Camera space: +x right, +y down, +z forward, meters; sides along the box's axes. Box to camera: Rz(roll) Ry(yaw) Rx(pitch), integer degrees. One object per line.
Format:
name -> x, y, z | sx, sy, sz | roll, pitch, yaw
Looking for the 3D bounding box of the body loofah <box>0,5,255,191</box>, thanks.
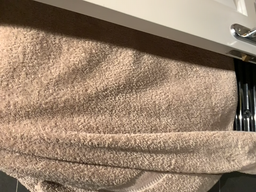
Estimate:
body loofah -> 0.070, 0.080, 0.490 | 0.150, 0.810, 0.330 | -20, 65, 61
